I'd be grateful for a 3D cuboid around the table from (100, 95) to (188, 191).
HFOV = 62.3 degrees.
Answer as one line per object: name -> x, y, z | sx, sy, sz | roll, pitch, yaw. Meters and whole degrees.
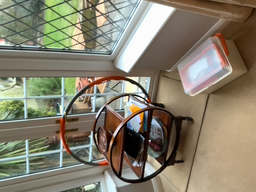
table -> 0.140, 0.390, 1.960 | 0.310, 0.720, 0.710 | 21, 111, 58
